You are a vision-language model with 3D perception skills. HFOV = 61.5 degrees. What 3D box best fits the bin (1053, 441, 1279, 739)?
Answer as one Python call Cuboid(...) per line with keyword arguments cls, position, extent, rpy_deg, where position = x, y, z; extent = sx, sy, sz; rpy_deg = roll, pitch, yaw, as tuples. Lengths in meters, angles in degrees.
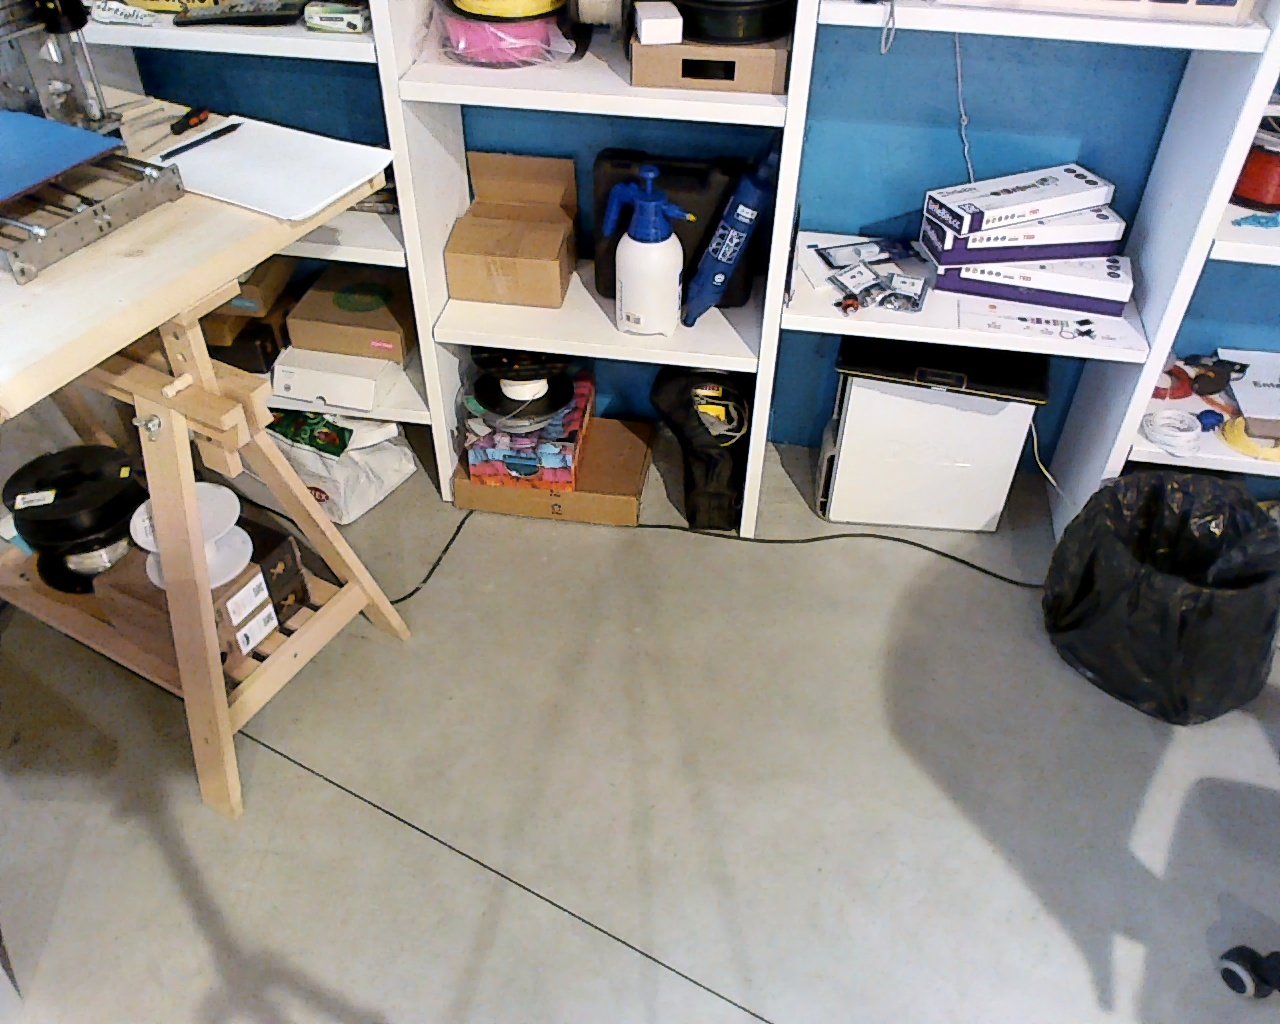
Cuboid(cls="bin", position=(0.950, 0.130, 1.870), extent=(0.360, 0.320, 0.320), rpy_deg=(11, 43, 11))
